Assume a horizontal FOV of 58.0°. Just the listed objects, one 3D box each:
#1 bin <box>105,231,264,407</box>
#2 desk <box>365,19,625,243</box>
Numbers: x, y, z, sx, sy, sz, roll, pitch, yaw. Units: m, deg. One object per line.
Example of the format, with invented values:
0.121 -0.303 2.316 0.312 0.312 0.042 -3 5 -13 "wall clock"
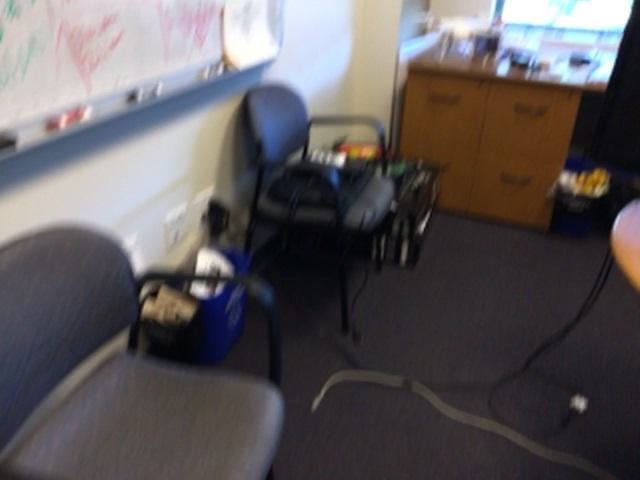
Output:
-0.420 0.240 1.920 0.260 0.330 0.460 12 31 21 "bin"
0.810 -0.570 2.800 1.020 0.820 0.580 12 31 21 "desk"
